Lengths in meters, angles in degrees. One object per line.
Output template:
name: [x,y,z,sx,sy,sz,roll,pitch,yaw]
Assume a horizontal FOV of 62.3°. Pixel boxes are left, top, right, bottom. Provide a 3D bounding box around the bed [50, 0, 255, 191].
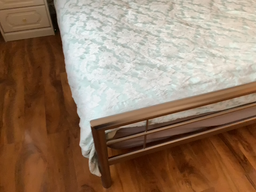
bed: [0.270,-0.610,1.800,1.660,0.550,2.170,-13,48,-13]
